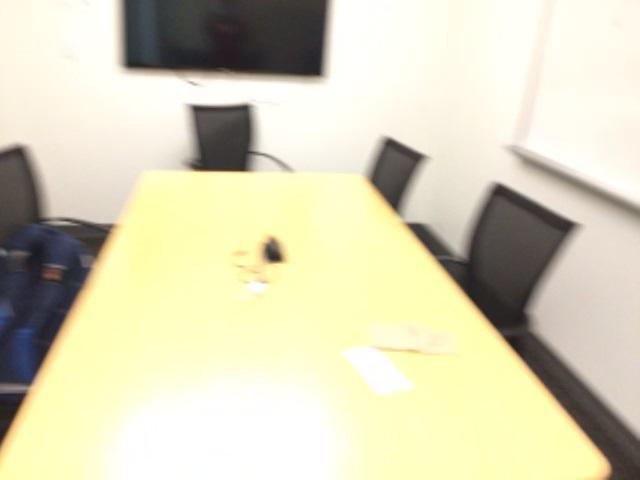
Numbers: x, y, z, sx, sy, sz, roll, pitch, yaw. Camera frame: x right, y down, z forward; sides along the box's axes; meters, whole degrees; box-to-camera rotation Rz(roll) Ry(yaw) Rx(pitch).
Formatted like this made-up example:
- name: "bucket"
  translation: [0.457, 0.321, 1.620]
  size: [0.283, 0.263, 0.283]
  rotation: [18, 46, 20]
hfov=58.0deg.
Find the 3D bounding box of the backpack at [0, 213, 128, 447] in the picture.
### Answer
- name: "backpack"
  translation: [-0.740, 0.200, 1.470]
  size: [0.420, 0.410, 0.460]
  rotation: [-1, 21, -13]
